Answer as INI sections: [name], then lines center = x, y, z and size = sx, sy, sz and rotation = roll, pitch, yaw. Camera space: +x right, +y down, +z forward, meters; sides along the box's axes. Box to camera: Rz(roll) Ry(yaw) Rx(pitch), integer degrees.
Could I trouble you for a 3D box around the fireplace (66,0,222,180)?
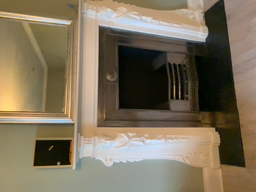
[fireplace]
center = 0.140, -0.120, 2.030
size = 0.410, 1.330, 1.570
rotation = 152, 119, -66
